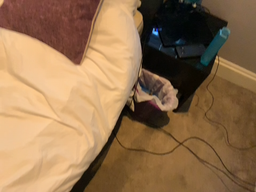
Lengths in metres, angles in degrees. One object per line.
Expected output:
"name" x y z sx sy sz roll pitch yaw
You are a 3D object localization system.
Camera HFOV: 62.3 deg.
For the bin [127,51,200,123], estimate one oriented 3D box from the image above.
"bin" 0.200 -0.040 1.310 0.320 0.330 0.190 23 59 2
